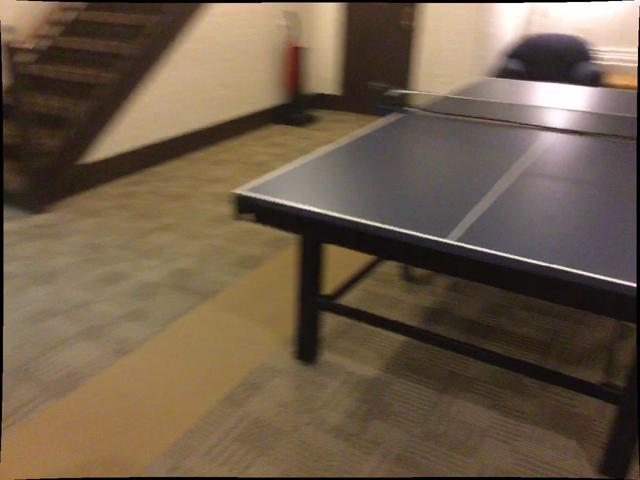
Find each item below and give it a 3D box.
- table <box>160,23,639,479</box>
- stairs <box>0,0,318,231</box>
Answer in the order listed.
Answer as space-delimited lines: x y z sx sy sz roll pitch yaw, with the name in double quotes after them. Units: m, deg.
1.069 -0.440 2.780 1.849 0.851 3.130 14 28 25 "table"
-1.479 -2.272 4.540 1.239 3.022 3.890 13 28 25 "stairs"
